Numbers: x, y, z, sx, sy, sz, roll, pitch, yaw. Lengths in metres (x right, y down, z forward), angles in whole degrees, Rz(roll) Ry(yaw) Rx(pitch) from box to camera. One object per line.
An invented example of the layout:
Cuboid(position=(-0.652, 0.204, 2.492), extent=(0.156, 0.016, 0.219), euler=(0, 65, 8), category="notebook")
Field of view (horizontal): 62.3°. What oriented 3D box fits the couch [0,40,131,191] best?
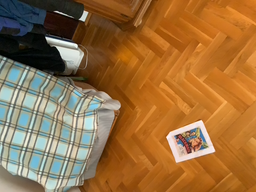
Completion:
Cuboid(position=(-0.770, 0.170, 1.740), extent=(0.900, 1.010, 0.890), euler=(39, 113, 33), category="couch")
